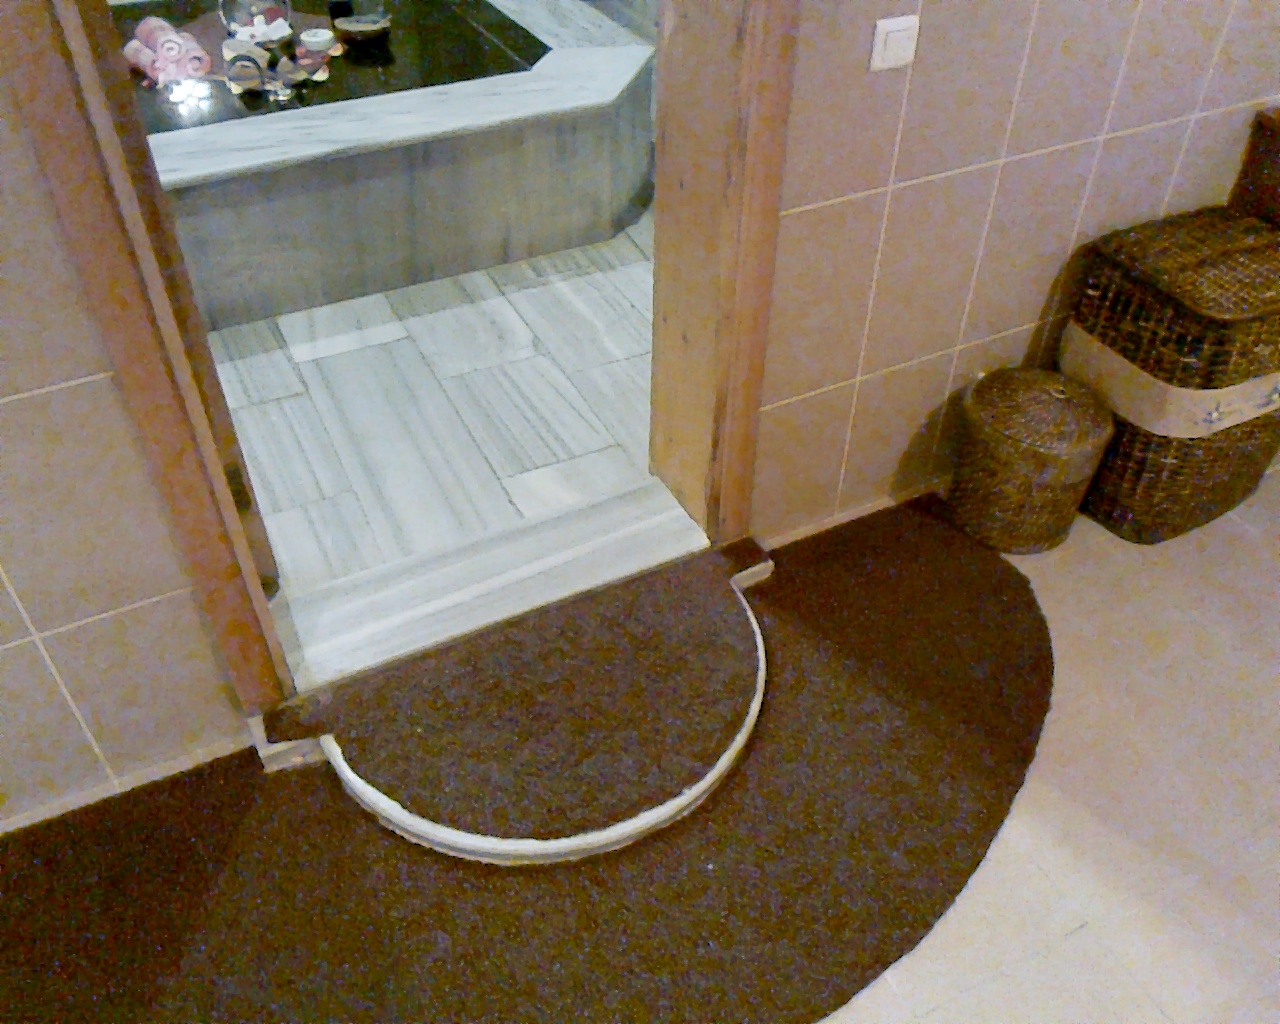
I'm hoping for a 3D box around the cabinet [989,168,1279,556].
[{"bbox_3d":[1.160,-0.330,2.340,0.490,0.600,0.430,-19,45,-20],"label":"cabinet"}]

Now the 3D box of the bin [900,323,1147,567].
[{"bbox_3d":[0.810,-0.150,2.330,0.300,0.340,0.320,-19,45,-20],"label":"bin"}]
